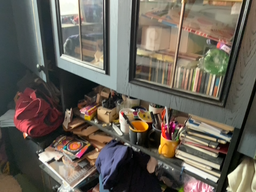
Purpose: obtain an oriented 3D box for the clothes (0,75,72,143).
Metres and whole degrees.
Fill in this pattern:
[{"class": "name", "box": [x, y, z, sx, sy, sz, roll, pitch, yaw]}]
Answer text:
[{"class": "clothes", "box": [-0.560, 0.060, 1.310, 0.330, 0.250, 0.250, 21, 30, 33]}]
